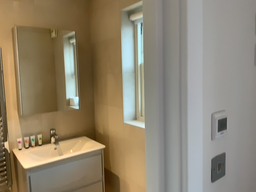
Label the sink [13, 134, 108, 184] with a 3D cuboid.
[{"bbox_3d":[-0.570,0.490,1.800,0.640,0.120,0.460,-6,8,-37],"label":"sink"}]
